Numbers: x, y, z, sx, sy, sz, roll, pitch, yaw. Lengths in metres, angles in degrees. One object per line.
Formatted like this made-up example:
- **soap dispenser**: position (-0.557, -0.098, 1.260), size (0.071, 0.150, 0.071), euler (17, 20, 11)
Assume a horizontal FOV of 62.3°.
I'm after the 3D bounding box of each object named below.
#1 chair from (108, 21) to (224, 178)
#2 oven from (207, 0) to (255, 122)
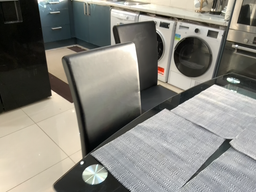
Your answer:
- **chair**: position (0.210, -0.010, 1.690), size (0.460, 0.990, 0.650), euler (-19, 36, -34)
- **oven**: position (1.450, -0.460, 2.350), size (0.630, 1.280, 0.590), euler (28, 37, 37)
